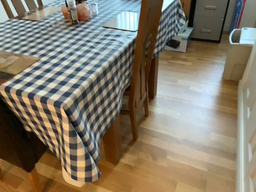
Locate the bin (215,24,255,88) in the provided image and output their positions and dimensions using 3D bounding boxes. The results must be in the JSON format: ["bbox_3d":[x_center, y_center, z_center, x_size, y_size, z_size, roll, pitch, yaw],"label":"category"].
[{"bbox_3d":[1.050,-0.390,2.030,0.280,0.450,0.360,15,41,21],"label":"bin"}]
